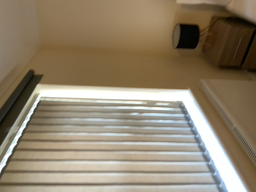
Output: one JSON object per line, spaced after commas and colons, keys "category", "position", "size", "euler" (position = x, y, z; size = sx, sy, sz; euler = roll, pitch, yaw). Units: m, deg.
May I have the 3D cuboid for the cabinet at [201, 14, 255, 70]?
{"category": "cabinet", "position": [1.140, -0.560, 2.200], "size": [0.430, 0.510, 0.420], "euler": [-97, 10, -57]}
